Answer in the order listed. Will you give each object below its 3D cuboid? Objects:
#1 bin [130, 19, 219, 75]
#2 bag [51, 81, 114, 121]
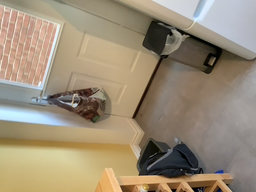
[{"bbox_3d":[0.330,-0.370,1.580,0.450,0.460,0.160,51,124,51],"label":"bin"},{"bbox_3d":[-0.390,0.050,1.810,0.180,0.450,0.230,44,118,54],"label":"bag"}]
